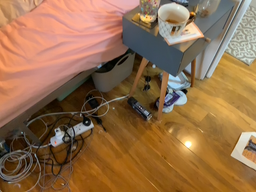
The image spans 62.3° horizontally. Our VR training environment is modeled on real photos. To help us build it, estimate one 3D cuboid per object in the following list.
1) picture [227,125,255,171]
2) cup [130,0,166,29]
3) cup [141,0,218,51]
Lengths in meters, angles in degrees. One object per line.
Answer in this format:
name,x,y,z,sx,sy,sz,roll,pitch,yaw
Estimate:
picture,0.730,0.320,1.160,0.300,0.010,0.210,32,62,18
cup,0.080,-0.370,0.840,0.090,0.140,0.110,38,64,21
cup,0.190,-0.300,0.800,0.190,0.080,0.200,36,64,20
